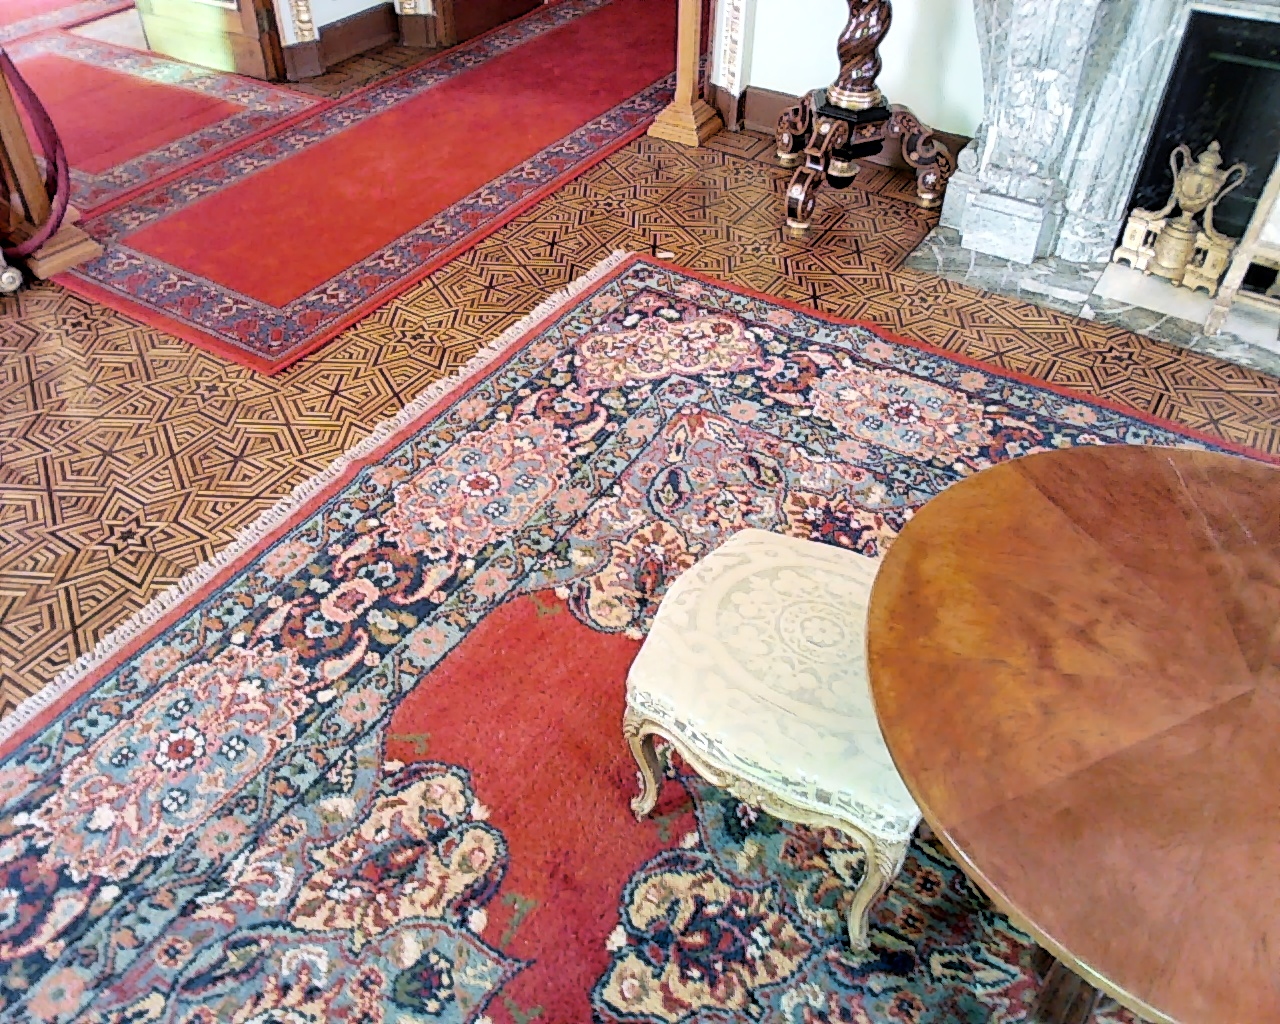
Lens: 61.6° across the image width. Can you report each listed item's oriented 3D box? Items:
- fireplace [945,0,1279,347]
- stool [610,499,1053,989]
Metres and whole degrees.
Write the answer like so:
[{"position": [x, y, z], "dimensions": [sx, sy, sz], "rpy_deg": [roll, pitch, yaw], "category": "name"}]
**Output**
[{"position": [2.189, -1.100, 2.900], "dimensions": [2.360, 1.320, 0.590], "rpy_deg": [23, 47, 23], "category": "fireplace"}, {"position": [0.310, 0.380, 1.860], "dimensions": [0.560, 0.470, 0.460], "rpy_deg": [22, 47, 22], "category": "stool"}]
